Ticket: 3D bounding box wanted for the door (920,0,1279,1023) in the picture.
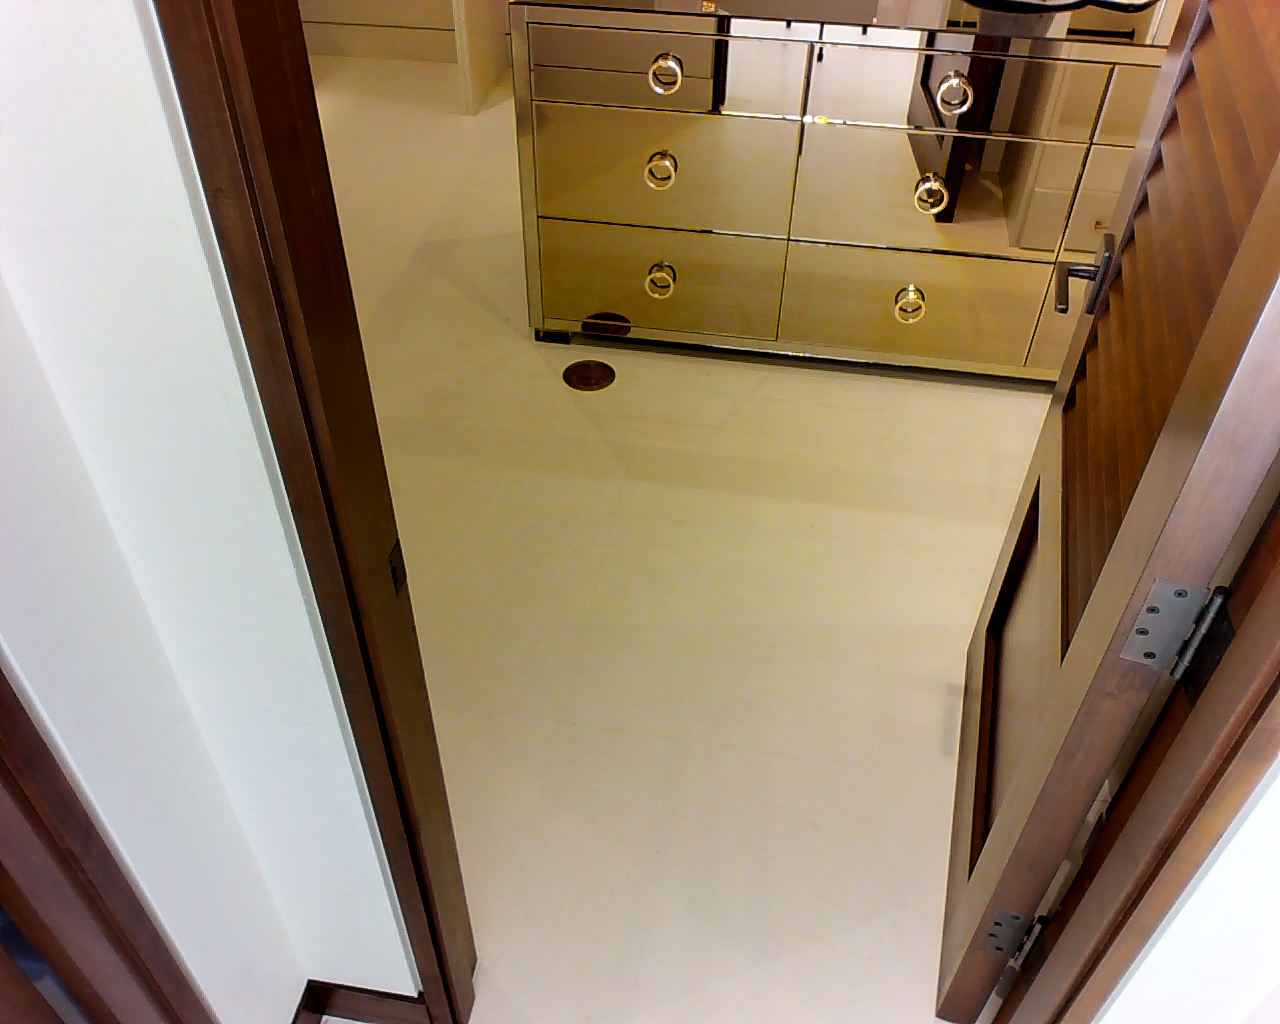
[{"bbox_3d":[0.580,-0.400,1.080,0.040,2.520,0.800,12,43,13],"label":"door"}]
